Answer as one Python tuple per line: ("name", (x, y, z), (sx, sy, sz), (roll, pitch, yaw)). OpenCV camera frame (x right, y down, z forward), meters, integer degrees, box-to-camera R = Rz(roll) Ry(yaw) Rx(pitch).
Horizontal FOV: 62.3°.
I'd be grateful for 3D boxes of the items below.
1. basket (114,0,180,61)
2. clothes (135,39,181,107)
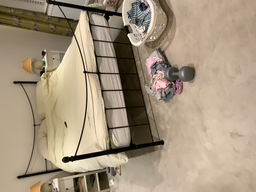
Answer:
("basket", (0.150, -0.800, 2.150), (0.550, 0.240, 0.680), (-44, 55, 51))
("clothes", (0.270, -0.210, 2.040), (0.350, 0.140, 0.540), (-35, 62, 54))
